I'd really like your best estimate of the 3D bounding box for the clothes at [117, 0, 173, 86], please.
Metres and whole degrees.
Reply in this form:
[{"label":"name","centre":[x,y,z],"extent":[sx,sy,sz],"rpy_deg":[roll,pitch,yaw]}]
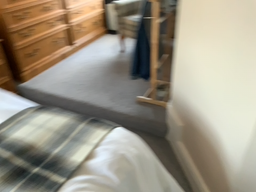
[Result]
[{"label":"clothes","centre":[0.160,-0.660,1.670],"extent":[0.300,0.990,0.530],"rpy_deg":[9,35,17]}]
